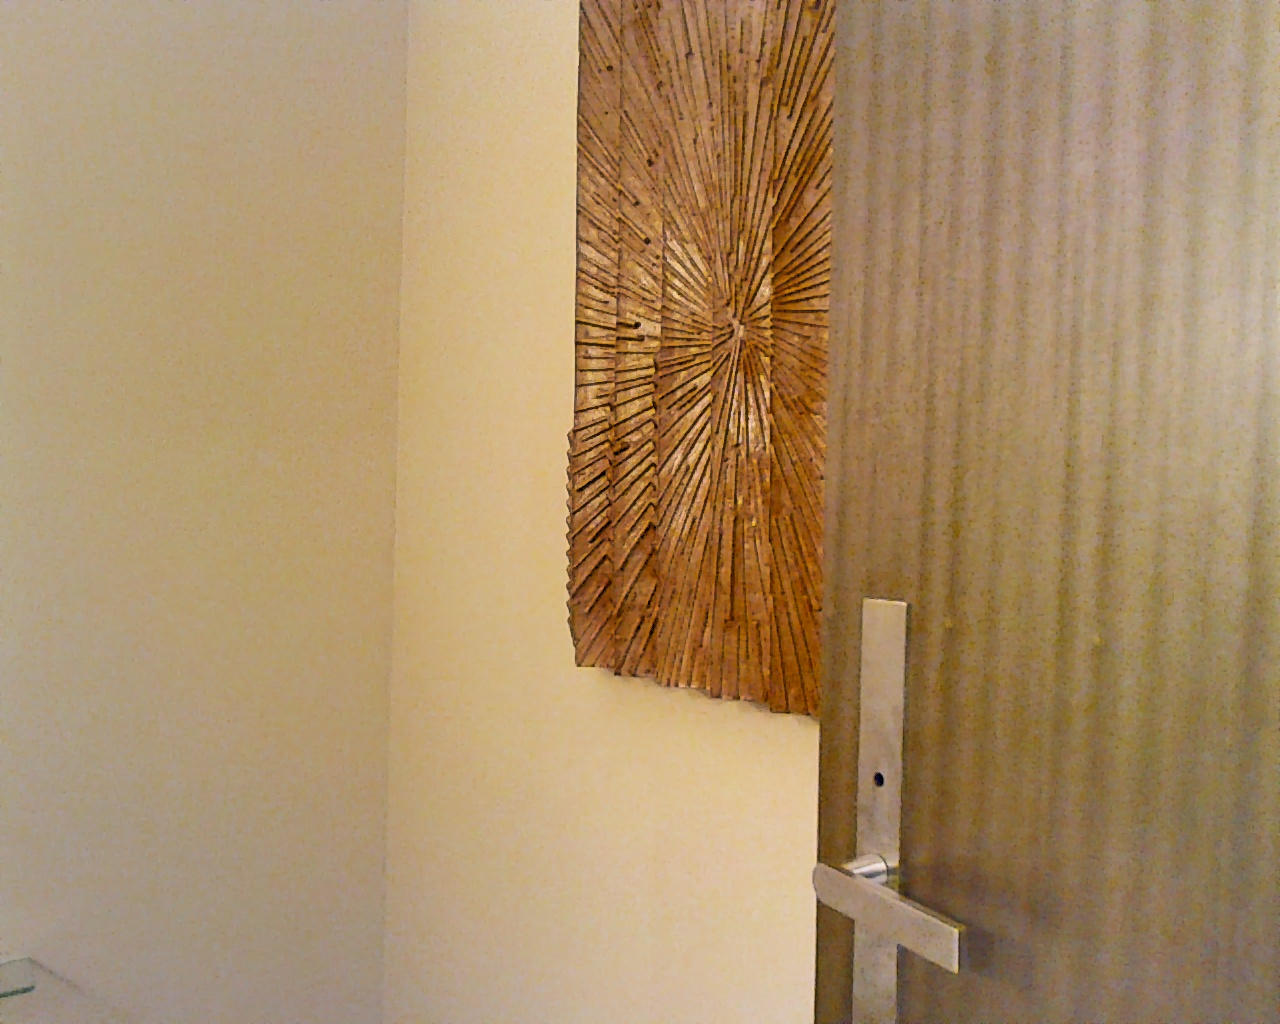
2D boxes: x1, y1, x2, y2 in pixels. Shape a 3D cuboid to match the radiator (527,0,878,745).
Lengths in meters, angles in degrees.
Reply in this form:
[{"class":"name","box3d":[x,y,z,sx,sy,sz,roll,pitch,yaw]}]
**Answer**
[{"class":"radiator","box3d":[0.040,-0.340,1.140,0.070,1.070,0.500,1,0,-34]}]
